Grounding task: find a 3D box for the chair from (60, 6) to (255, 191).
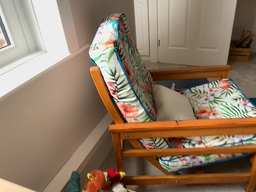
[{"bbox_3d":[0.240,0.020,1.250,0.900,0.880,0.620,-2,31,5],"label":"chair"}]
